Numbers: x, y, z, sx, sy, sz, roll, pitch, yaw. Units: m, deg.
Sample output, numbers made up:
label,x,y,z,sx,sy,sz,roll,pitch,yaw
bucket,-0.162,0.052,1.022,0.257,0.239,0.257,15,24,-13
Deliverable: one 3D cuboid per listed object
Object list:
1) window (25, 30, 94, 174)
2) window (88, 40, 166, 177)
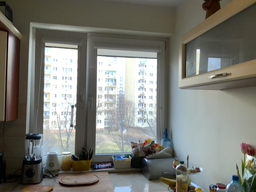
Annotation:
label,x,y,z,sx,sy,sz,roll,pitch,yaw
window,-0.670,0.060,2.140,0.610,1.340,0.160,2,-2,-15
window,-0.010,0.130,2.350,0.810,1.410,0.190,1,-2,-11
